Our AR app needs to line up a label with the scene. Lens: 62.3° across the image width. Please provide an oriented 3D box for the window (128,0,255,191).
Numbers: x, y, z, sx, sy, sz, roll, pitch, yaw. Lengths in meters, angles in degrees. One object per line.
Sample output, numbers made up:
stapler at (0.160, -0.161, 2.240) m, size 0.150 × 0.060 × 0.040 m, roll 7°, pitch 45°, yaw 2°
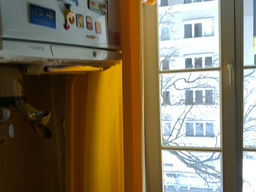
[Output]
window at (0.630, 0.070, 1.350) m, size 1.190 × 1.870 × 0.190 m, roll -1°, pitch -174°, yaw 13°

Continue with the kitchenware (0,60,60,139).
kitchenware at (-0.510, 0.000, 0.850) m, size 0.290 × 0.260 × 0.320 m, roll 1°, pitch -173°, yaw 30°
